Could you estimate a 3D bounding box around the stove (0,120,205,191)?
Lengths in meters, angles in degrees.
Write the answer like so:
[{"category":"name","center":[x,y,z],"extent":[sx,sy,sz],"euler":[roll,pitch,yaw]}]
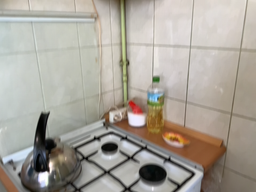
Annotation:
[{"category":"stove","center":[-0.110,0.330,0.820],"extent":[0.590,0.160,0.510],"euler":[17,25,42]}]
